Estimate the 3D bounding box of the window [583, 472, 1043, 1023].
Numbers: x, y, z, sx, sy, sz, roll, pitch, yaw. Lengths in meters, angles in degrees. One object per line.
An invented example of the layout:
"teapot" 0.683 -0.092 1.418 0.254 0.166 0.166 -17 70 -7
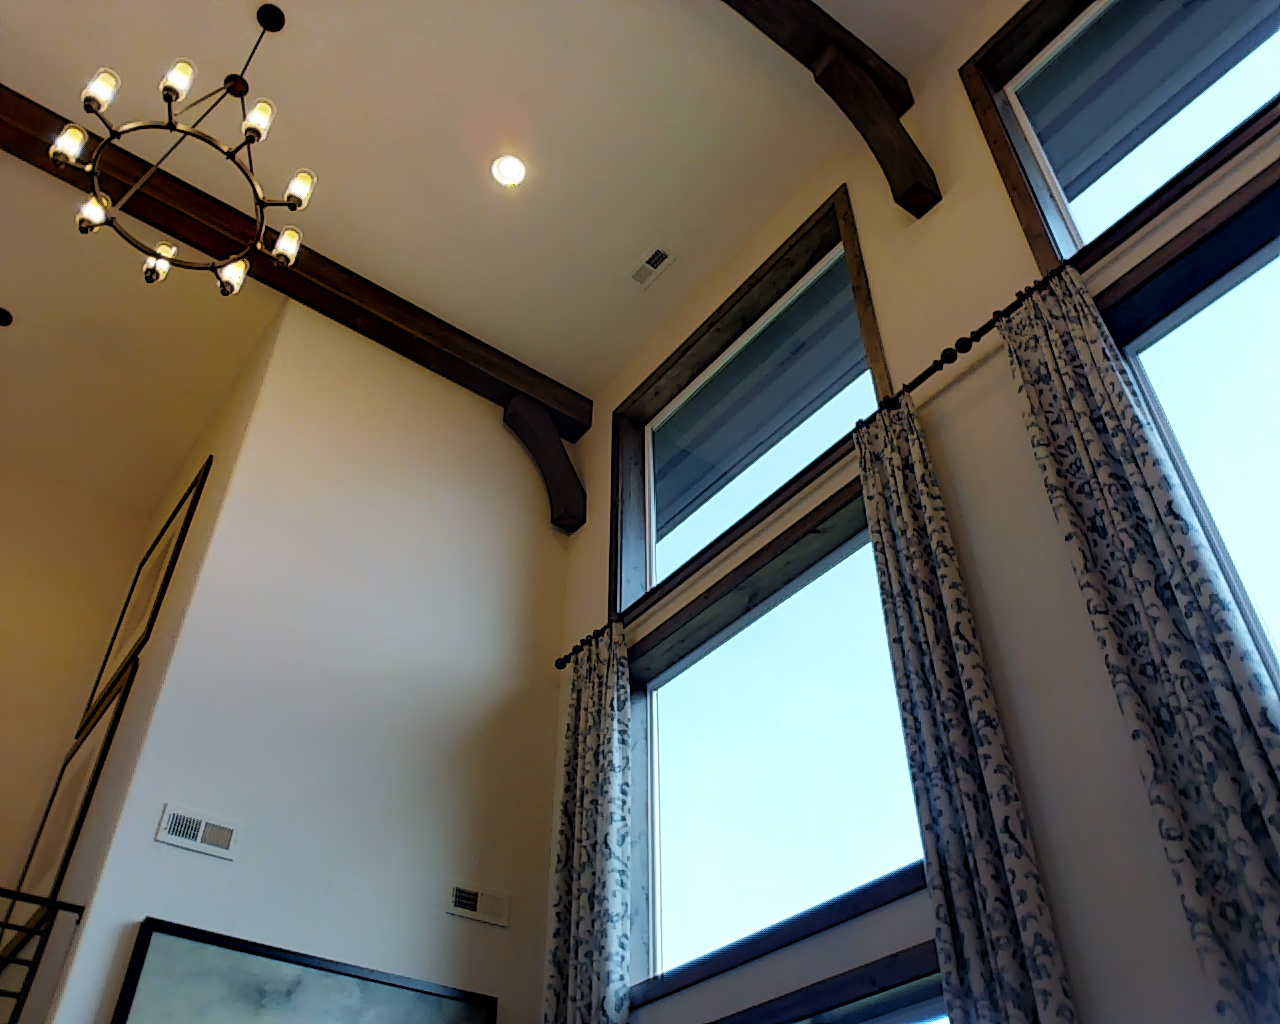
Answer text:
"window" 0.450 1.900 3.240 0.380 4.100 1.660 27 -48 -27
